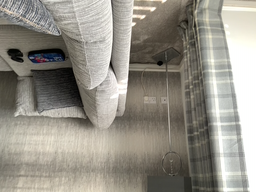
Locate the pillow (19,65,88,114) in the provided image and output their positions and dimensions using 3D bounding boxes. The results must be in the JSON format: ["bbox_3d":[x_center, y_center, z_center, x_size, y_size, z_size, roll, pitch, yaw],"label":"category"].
[{"bbox_3d":[-0.610,-0.040,1.790,0.480,0.320,0.190,8,167,-15],"label":"pillow"}]
